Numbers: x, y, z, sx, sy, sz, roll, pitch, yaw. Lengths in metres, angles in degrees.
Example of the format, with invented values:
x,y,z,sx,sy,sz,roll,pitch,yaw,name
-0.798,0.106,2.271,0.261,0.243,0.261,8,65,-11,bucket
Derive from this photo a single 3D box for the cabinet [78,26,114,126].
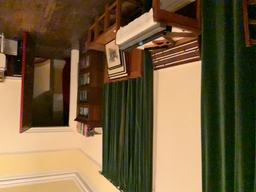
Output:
x,y,z,sx,sy,sz,roll,pitch,yaw,name
-0.690,-0.370,4.430,0.380,1.860,0.950,3,179,-27,cabinet
